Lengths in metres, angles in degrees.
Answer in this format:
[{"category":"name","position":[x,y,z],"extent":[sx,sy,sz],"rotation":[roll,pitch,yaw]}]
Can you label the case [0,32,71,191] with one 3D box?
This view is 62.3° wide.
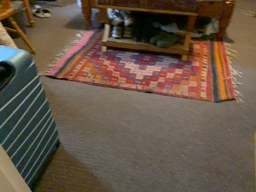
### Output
[{"category":"case","position":[-0.550,0.130,0.910],"extent":[0.350,0.640,0.460],"rotation":[7,42,7]}]
